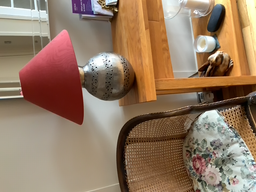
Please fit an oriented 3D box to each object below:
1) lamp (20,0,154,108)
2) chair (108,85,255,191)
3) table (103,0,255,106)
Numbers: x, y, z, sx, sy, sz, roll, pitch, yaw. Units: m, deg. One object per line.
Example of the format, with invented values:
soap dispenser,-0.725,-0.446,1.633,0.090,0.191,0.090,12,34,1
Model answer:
lamp,-0.220,-0.160,0.980,0.440,0.470,0.350,-18,77,63
chair,0.420,0.310,1.030,0.600,0.800,0.560,-34,63,60
table,0.280,-0.580,1.250,0.400,0.750,1.200,-14,81,63
